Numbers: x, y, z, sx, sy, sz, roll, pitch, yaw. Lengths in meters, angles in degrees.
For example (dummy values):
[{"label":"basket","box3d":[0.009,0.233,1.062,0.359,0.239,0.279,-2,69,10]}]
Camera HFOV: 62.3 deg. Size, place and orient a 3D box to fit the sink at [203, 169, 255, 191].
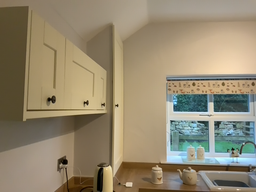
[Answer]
[{"label":"sink","box3d":[0.990,0.890,2.030,0.410,0.210,0.510,0,-3,7]}]
